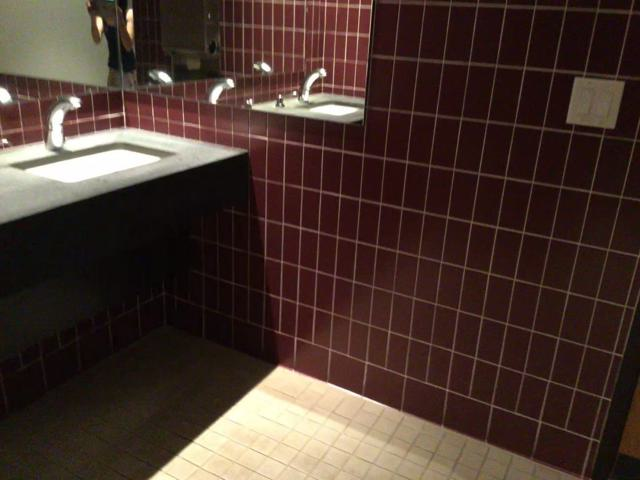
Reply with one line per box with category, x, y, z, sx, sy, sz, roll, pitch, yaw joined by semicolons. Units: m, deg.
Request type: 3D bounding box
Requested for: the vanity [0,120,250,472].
vanity;-0.960;0.130;1.650;0.630;0.710;1.690;13;22;27
